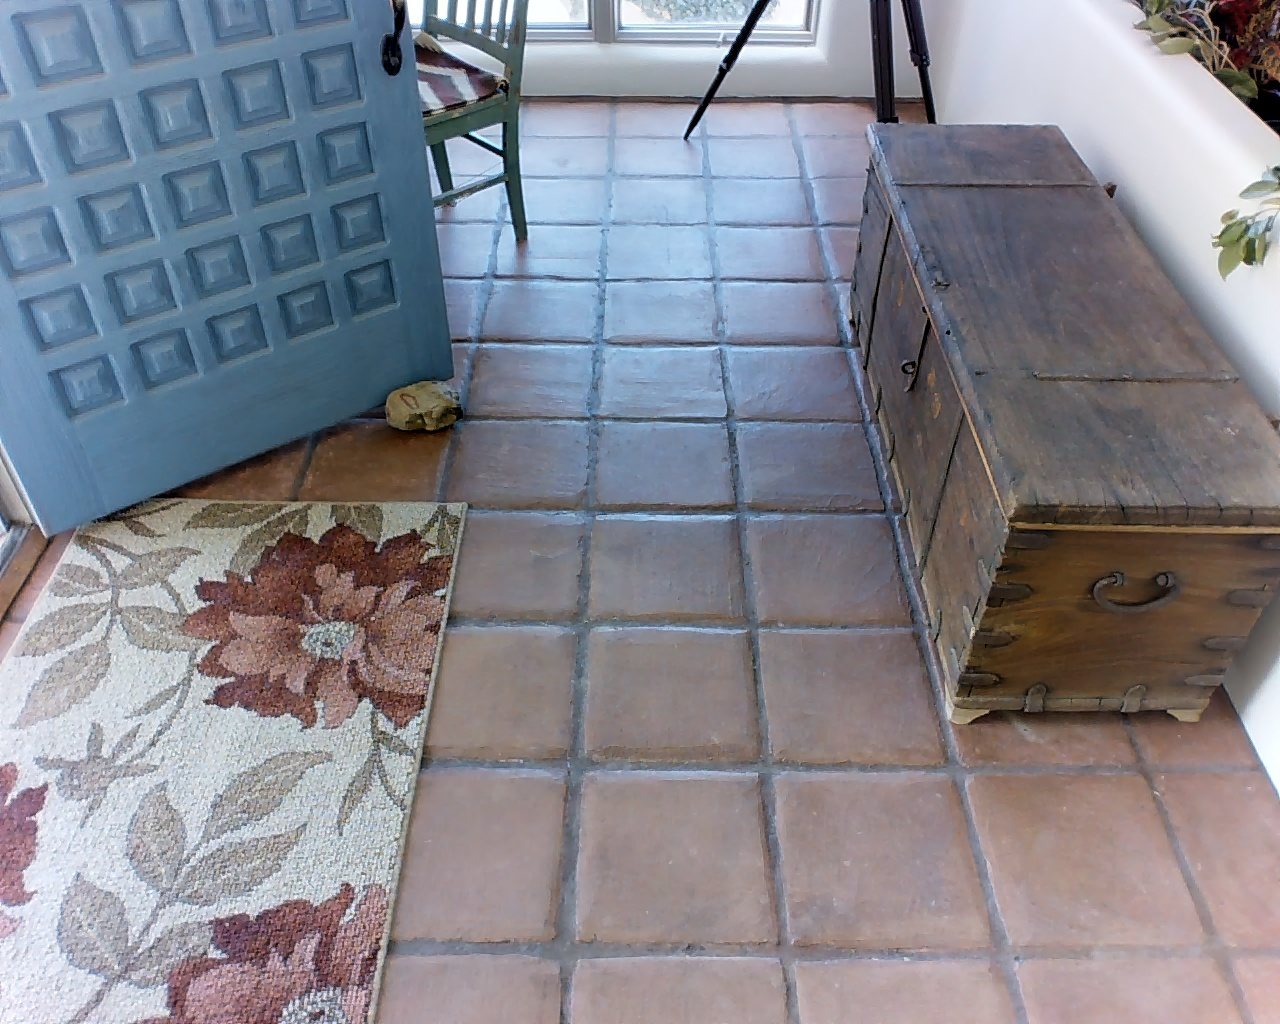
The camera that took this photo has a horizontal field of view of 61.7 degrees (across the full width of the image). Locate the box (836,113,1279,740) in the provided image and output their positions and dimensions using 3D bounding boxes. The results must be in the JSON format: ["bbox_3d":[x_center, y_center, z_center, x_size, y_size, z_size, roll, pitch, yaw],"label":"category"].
[{"bbox_3d":[0.770,-0.270,2.110,0.530,0.500,1.370,0,42,0],"label":"box"}]
